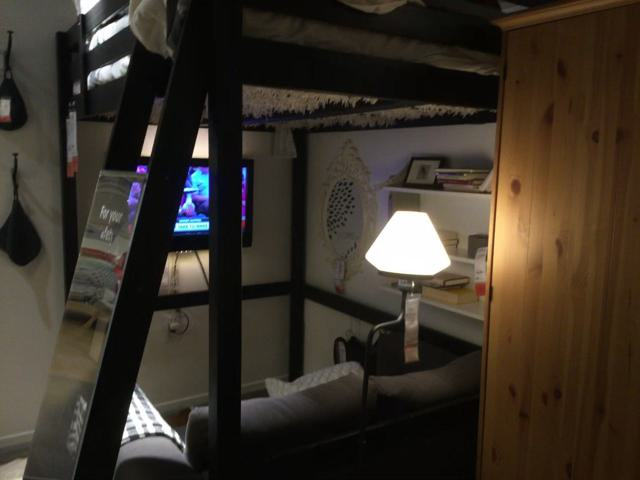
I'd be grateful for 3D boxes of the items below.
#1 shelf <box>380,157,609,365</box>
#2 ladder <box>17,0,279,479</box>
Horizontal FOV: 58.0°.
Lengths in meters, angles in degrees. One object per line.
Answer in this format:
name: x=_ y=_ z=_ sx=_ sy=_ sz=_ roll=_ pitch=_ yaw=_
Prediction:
shelf: x=0.660 y=0.020 z=2.430 sx=0.310 sy=0.710 sz=0.930 roll=-2 pitch=8 yaw=-29
ladder: x=-0.510 y=0.260 z=1.470 sx=0.320 sy=2.100 sz=0.520 roll=9 pitch=4 yaw=-30
